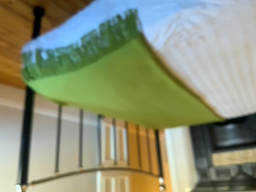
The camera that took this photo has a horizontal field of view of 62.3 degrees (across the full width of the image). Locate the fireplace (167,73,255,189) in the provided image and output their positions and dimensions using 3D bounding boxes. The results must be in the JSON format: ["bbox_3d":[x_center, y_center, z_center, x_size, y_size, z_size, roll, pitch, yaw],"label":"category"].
[{"bbox_3d":[1.250,0.490,2.730,1.270,1.260,0.440,-15,156,29],"label":"fireplace"}]
